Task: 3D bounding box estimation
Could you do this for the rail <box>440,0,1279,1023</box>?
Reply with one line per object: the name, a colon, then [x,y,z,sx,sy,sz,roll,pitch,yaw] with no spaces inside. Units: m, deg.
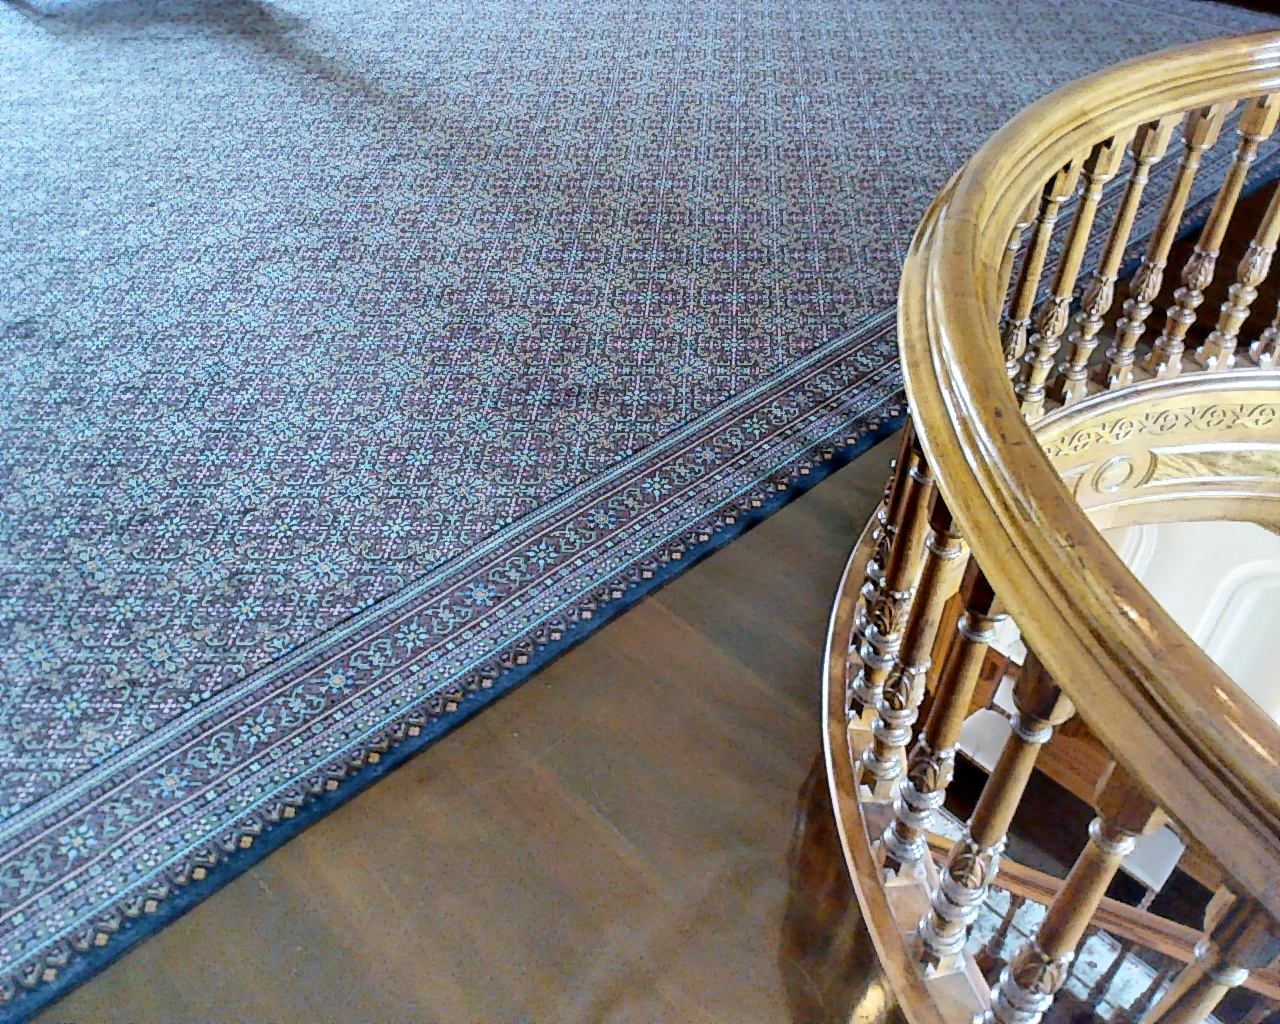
rail: [1.290,-0.080,1.980,2.750,1.110,1.560,-32,51,-30]
